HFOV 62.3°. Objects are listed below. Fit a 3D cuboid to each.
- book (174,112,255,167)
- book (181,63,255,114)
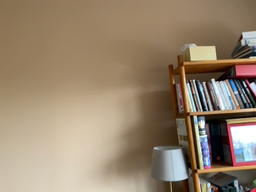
[{"bbox_3d":[0.770,0.260,1.440,0.800,0.290,0.380,-3,-6,-4],"label":"book"},{"bbox_3d":[0.780,-0.040,1.470,0.680,0.280,0.420,-2,-6,-5],"label":"book"}]
